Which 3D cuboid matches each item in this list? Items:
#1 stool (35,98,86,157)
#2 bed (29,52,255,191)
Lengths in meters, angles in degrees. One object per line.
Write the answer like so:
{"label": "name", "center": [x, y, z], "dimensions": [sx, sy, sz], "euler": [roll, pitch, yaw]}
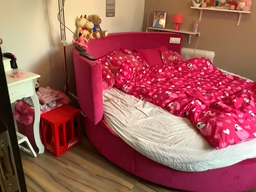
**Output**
{"label": "stool", "center": [-0.640, 0.290, 2.050], "dimensions": [0.310, 0.380, 0.320], "euler": [17, 27, 27]}
{"label": "bed", "center": [0.610, 0.070, 2.610], "dimensions": [2.350, 0.450, 2.360], "euler": [18, 28, 27]}
